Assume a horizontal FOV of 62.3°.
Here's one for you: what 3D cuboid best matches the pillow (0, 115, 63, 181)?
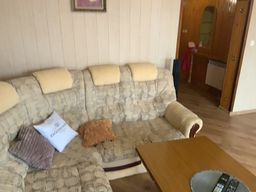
[{"bbox_3d":[-0.870,0.450,1.890,0.220,0.350,0.450,41,33,4],"label":"pillow"}]

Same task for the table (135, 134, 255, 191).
[{"bbox_3d":[0.560,0.860,1.470,0.680,0.600,1.190,-4,21,-15],"label":"table"}]

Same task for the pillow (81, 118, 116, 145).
[{"bbox_3d":[-0.340,0.390,2.400,0.320,0.090,0.380,-5,21,-18],"label":"pillow"}]

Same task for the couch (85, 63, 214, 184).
[{"bbox_3d":[0.150,0.210,2.640,1.190,0.990,1.040,-5,21,-17],"label":"couch"}]
